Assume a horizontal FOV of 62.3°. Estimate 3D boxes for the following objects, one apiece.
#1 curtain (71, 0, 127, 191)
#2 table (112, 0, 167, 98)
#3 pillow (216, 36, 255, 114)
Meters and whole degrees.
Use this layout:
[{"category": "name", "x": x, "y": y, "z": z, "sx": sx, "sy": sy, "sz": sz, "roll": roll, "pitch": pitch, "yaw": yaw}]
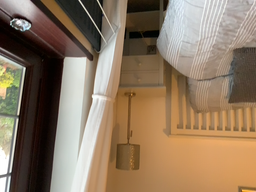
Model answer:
[{"category": "curtain", "x": -0.160, "y": 0.260, "z": 1.210, "sx": 0.190, "sy": 2.330, "sz": 0.260, "roll": 1, "pitch": 170, "yaw": 8}, {"category": "table", "x": 0.130, "y": -0.410, "z": 1.860, "sx": 0.400, "sy": 0.780, "sz": 0.430, "roll": 1, "pitch": 170, "yaw": 11}, {"category": "pillow", "x": 0.880, "y": -0.100, "z": 1.370, "sx": 0.420, "sy": 0.400, "sz": 0.130, "roll": 30, "pitch": -146, "yaw": 8}]
